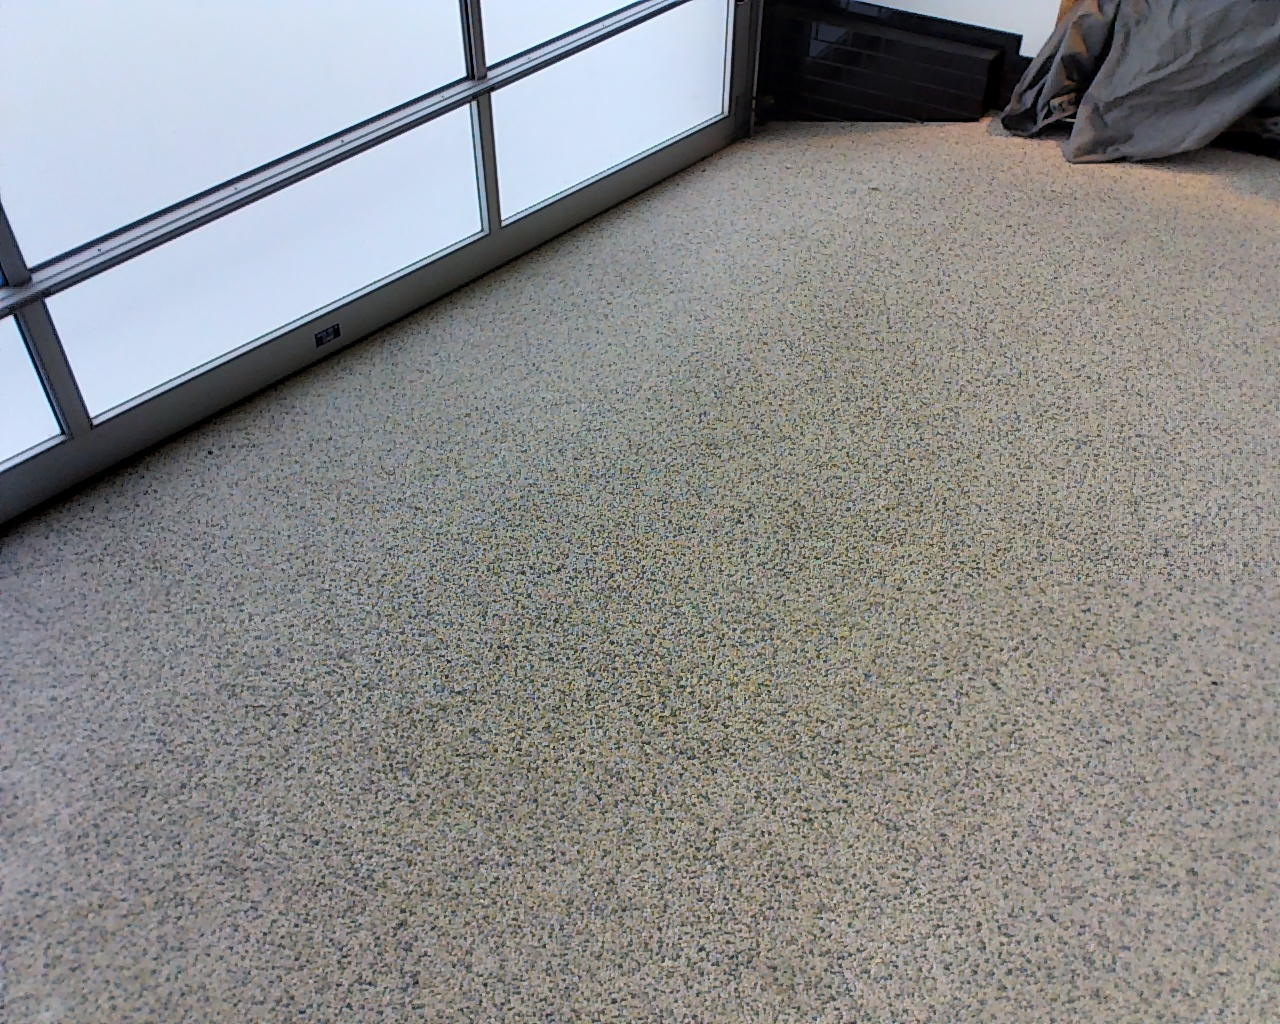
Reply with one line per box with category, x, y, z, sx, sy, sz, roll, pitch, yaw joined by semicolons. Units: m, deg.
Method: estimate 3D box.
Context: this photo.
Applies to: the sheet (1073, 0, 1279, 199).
sheet;2.120;-1.770;3.740;0.800;1.150;0.330;23;38;25
